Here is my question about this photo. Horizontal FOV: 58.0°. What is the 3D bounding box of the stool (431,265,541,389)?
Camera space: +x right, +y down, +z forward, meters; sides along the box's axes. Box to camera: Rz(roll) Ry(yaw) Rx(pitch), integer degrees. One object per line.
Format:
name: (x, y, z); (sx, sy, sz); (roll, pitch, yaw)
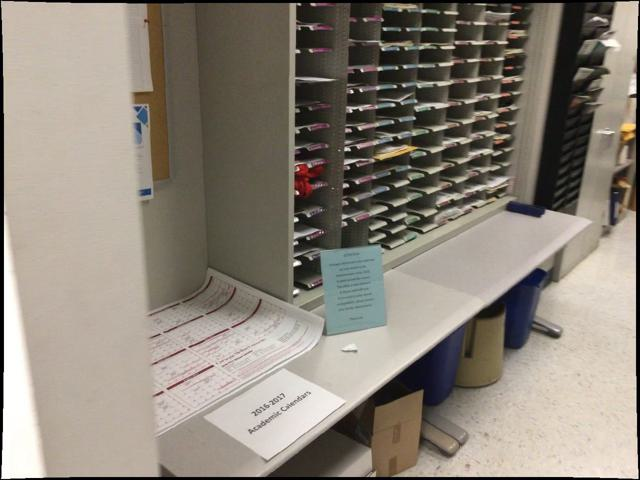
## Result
stool: (0.758, 0.381, 2.640); (0.320, 0.331, 0.390); (20, 30, 31)

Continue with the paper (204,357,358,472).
paper: (-0.090, 0.401, 1.380); (0.230, 0.020, 0.290); (23, 32, 35)

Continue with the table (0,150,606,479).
table: (0.269, 0.351, 2.260); (0.919, 0.711, 2.459); (20, 30, 31)
